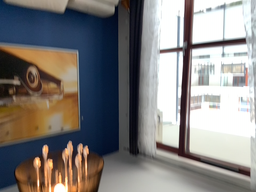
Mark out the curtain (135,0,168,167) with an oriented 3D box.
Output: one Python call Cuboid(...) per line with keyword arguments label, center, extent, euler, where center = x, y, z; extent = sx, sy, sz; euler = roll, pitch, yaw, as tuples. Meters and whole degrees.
Cuboid(label="curtain", center=(0.300, -0.450, 2.730), extent=(0.310, 2.620, 0.340), euler=(2, -175, 26))
